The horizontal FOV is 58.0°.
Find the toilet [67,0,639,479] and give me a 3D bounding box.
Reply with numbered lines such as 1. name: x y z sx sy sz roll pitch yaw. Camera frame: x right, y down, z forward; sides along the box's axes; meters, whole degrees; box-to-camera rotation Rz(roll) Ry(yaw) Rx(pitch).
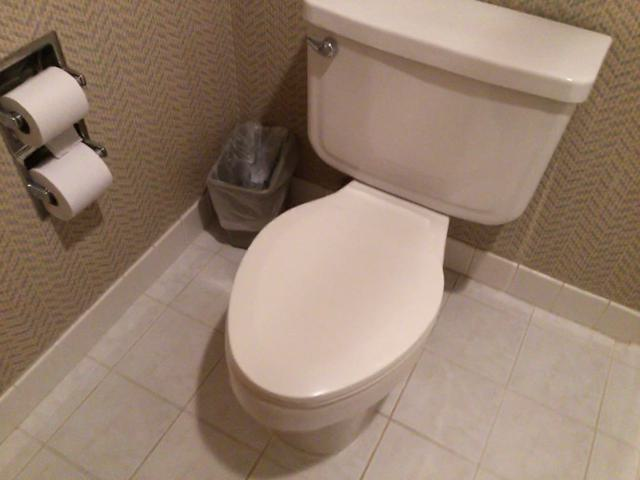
1. toilet: 0.110 0.030 1.090 0.550 0.740 0.730 22 49 19
